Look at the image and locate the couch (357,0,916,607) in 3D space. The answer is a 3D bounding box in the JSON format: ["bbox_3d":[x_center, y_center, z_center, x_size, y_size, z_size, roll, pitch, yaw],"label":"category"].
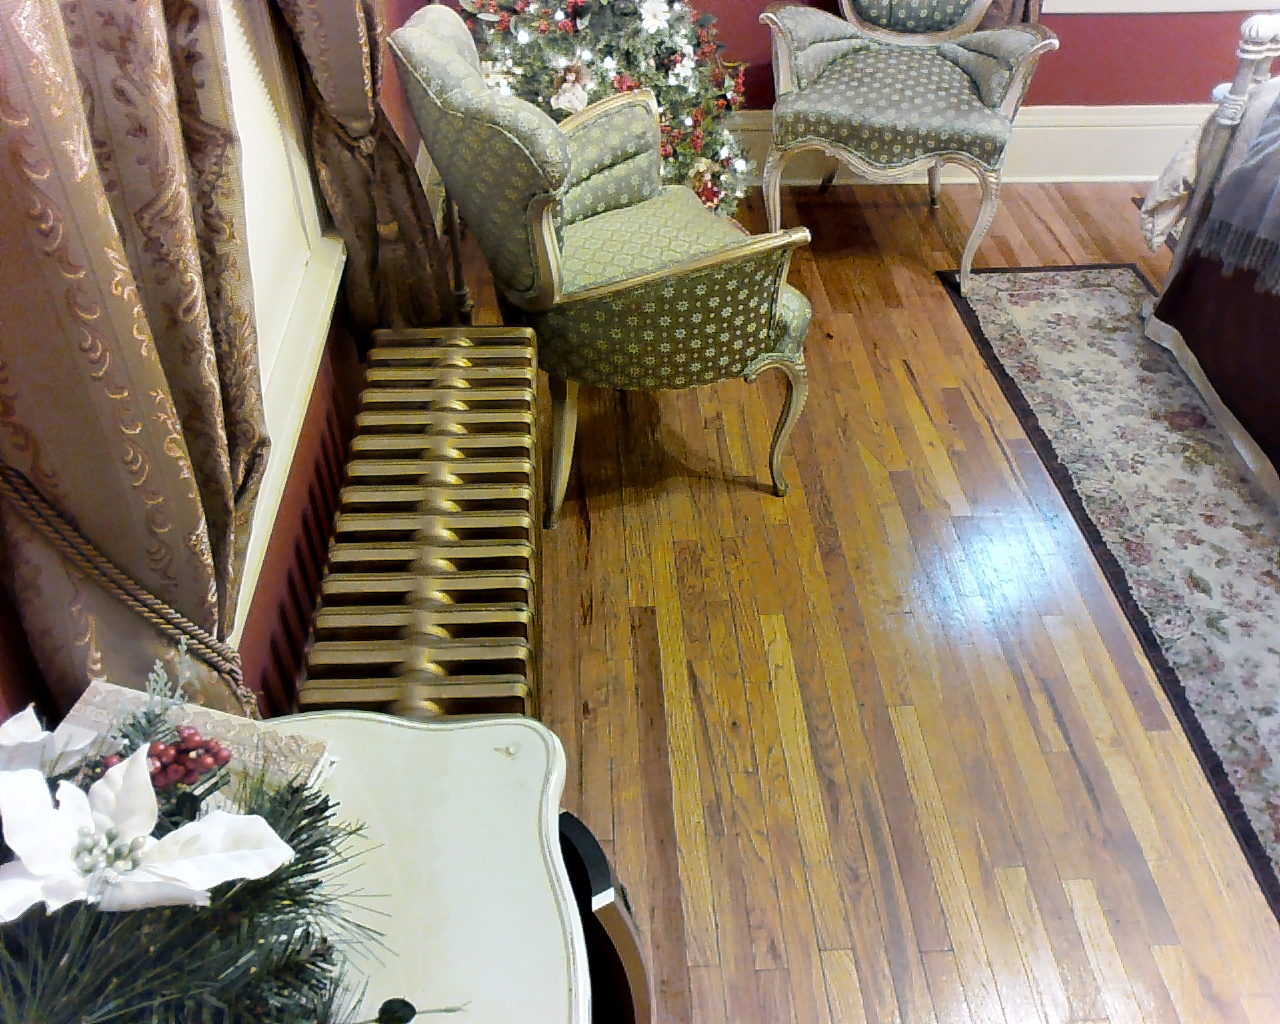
[{"bbox_3d":[-0.050,-0.510,2.180,0.760,1.060,0.700,-15,44,-15],"label":"couch"}]

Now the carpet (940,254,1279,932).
[{"bbox_3d":[1.240,0.070,2.290,0.580,0.050,2.360,-2,42,-3],"label":"carpet"}]

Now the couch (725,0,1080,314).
[{"bbox_3d":[0.700,-1.190,2.930,0.770,1.010,0.620,11,44,11],"label":"couch"}]
